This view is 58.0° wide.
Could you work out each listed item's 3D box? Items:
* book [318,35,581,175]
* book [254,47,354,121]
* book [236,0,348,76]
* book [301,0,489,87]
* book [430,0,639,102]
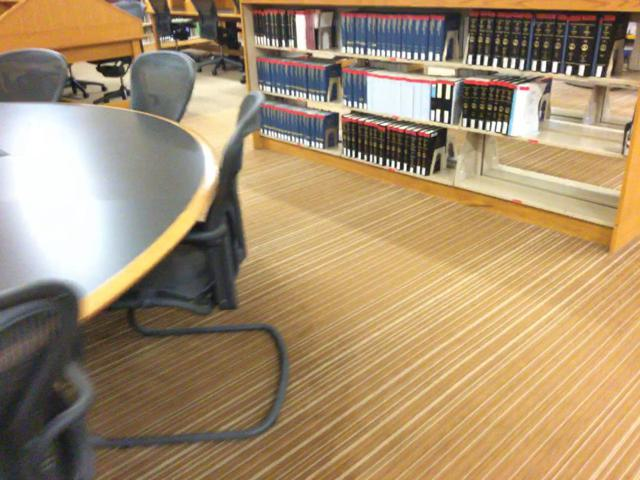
[{"bbox_3d":[0.660,-0.850,3.390,0.450,0.440,1.470,-24,37,-38],"label":"book"},{"bbox_3d":[-0.120,-1.100,4.030,0.340,0.340,0.640,-24,37,-38],"label":"book"},{"bbox_3d":[-0.200,-1.390,3.910,0.330,0.370,0.750,-24,37,-38],"label":"book"},{"bbox_3d":[0.380,-1.210,3.410,0.230,0.350,1.200,-24,37,-38],"label":"book"},{"bbox_3d":[1.010,-0.950,2.750,0.310,0.350,0.920,-24,37,-38],"label":"book"}]
